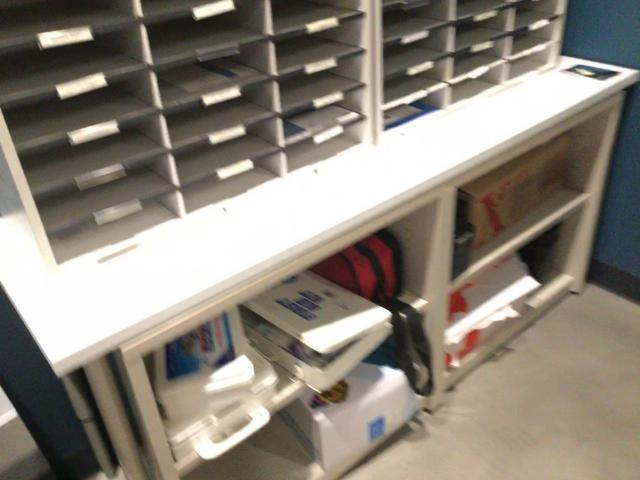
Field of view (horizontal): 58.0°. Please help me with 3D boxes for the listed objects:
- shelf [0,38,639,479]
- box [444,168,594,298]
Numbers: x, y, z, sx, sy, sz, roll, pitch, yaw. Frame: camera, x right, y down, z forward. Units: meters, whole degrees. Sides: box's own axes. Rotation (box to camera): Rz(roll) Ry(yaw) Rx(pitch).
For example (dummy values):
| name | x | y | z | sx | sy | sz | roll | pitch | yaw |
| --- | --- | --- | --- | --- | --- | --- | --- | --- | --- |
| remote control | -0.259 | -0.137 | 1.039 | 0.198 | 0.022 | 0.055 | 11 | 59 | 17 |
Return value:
| name | x | y | z | sx | sy | sz | roll | pitch | yaw |
| --- | --- | --- | --- | --- | --- | --- | --- | --- | --- |
| shelf | 0.140 | 0.070 | 1.520 | 1.630 | 0.780 | 0.550 | -28 | 38 | -33 |
| box | 0.500 | -0.030 | 1.480 | 0.240 | 0.180 | 0.260 | -28 | 38 | -33 |
